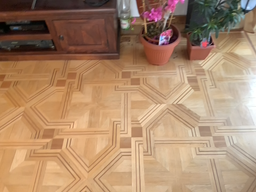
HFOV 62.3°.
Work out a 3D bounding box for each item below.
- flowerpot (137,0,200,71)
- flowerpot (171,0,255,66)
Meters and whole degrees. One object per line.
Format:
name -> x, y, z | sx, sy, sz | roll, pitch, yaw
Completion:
flowerpot -> 0.240, -0.690, 1.460 | 0.330, 0.920, 0.540 | -2, 54, 0
flowerpot -> 0.610, -0.600, 1.620 | 0.390, 0.490, 0.510 | -5, 54, -2
